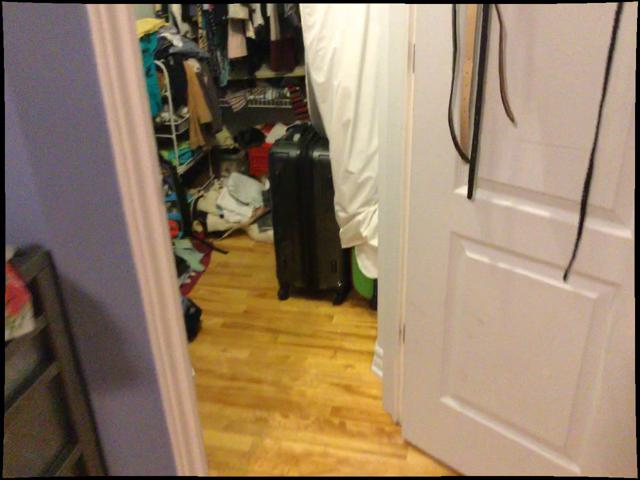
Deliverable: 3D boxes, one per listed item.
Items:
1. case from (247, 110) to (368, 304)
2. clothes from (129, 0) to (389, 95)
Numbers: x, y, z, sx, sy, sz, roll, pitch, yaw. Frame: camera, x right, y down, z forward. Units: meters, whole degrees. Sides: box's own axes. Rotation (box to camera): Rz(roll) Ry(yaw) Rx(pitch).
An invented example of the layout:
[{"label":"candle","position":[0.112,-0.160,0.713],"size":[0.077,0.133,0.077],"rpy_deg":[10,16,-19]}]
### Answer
[{"label":"case","position":[-0.020,-0.150,2.370],"size":[0.360,0.651,0.440],"rpy_deg":[4,28,13]},{"label":"clothes","position":[-0.300,-1.311,2.850],"size":[1.229,1.071,0.420],"rpy_deg":[4,28,13]}]
